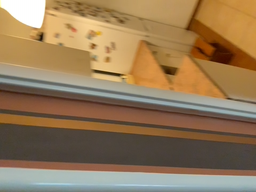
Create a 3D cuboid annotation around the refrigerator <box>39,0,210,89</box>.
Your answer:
[{"bbox_3d":[-0.050,-0.680,2.690,0.660,1.880,0.640,-105,29,-53],"label":"refrigerator"}]
